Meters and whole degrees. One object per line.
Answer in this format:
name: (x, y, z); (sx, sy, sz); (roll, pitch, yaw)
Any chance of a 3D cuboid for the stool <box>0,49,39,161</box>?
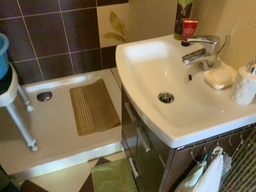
stool: (-0.860, 0.080, 1.300); (0.430, 0.510, 0.430); (-14, 48, -16)
